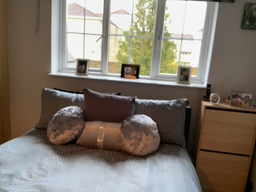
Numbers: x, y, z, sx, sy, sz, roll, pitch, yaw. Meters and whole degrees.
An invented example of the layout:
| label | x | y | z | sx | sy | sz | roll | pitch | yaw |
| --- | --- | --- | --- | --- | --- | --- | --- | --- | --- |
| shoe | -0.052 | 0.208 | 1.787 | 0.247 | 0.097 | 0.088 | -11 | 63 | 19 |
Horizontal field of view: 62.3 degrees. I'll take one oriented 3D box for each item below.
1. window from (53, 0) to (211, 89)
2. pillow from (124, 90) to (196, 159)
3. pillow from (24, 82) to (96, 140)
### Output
| label | x | y | z | sx | sy | sz | roll | pitch | yaw |
| --- | --- | --- | --- | --- | --- | --- | --- | --- | --- |
| window | -0.010 | -0.640 | 2.510 | 1.770 | 0.940 | 0.090 | 5 | 12 | 4 |
| pillow | 0.280 | 0.250 | 1.920 | 0.510 | 0.470 | 0.220 | -15 | 9 | 5 |
| pillow | -0.630 | 0.140 | 2.020 | 0.540 | 0.460 | 0.190 | -7 | 11 | 6 |
